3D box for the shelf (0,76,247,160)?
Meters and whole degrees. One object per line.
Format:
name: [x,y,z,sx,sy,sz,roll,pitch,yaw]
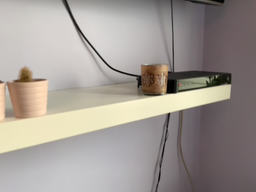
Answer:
shelf: [-0.010,0.010,0.640,0.890,0.050,0.290,-9,14,-35]
